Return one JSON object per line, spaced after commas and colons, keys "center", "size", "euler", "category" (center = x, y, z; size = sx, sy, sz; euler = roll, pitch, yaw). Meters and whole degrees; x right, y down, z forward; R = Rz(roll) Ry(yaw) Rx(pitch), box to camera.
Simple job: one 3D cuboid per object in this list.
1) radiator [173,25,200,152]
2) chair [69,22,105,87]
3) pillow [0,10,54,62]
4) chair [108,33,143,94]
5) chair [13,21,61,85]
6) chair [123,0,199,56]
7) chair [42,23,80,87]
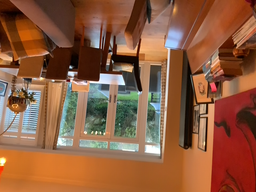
{"center": [0.930, -0.110, 3.410], "size": [0.240, 1.890, 0.560], "euler": [4, 174, 3], "category": "radiator"}
{"center": [-0.720, -0.720, 3.860], "size": [0.450, 1.020, 0.570], "euler": [4, 174, 3], "category": "chair"}
{"center": [-1.290, -0.720, 2.590], "size": [0.580, 0.220, 0.540], "euler": [5, 136, 6], "category": "pillow"}
{"center": [-0.060, -0.620, 4.260], "size": [0.590, 1.040, 0.560], "euler": [4, 174, -4], "category": "chair"}
{"center": [-1.690, -0.780, 4.020], "size": [0.510, 1.000, 0.650], "euler": [4, 174, 3], "category": "chair"}
{"center": [0.280, -0.900, 1.800], "size": [0.530, 0.980, 0.460], "euler": [3, 174, 5], "category": "chair"}
{"center": [-1.230, -0.740, 3.990], "size": [0.390, 1.020, 0.640], "euler": [4, 174, 3], "category": "chair"}
